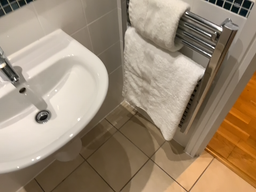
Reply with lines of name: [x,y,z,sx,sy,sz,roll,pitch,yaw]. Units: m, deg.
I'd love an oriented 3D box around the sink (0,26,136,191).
sink: [-0.310,0.040,0.750,0.410,0.180,0.550,38,64,26]

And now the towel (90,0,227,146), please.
towel: [0.090,-0.130,1.040,0.460,0.780,0.200,38,64,26]
